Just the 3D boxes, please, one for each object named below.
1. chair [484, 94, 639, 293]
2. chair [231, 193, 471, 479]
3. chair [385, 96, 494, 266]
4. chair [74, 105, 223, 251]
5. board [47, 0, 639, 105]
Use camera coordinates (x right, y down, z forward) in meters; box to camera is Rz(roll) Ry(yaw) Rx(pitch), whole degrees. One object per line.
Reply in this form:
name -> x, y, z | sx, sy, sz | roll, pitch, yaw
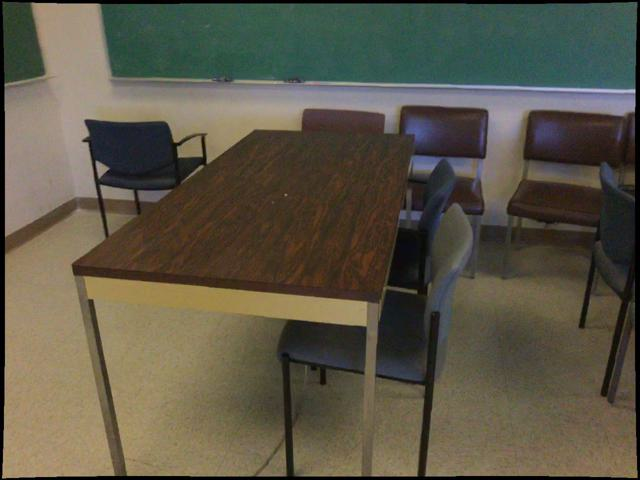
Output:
chair -> 1.257, -0.281, 2.870 | 0.679, 0.732, 0.720 | 9, 26, 24
chair -> 0.130, 0.281, 1.810 | 0.608, 0.712, 0.500 | 3, 24, 12
chair -> 0.618, -0.341, 3.040 | 0.479, 0.712, 0.650 | 3, 24, 12
chair -> -0.967, -0.391, 3.400 | 0.529, 0.692, 0.610 | 3, 24, 11
board -> 0.439, -1.293, 2.940 | 3.990, 1.153, 0.230 | 3, 24, 12
